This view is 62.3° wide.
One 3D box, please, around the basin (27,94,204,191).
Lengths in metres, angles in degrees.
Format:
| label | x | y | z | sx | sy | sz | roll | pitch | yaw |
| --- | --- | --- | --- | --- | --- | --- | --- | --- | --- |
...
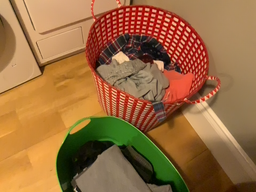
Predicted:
| label | x | y | z | sx | sy | sz | roll | pitch | yaw |
| --- | --- | --- | --- | --- | --- | --- | --- | --- | --- |
| basin | -0.010 | 0.340 | 0.740 | 0.400 | 0.170 | 0.570 | -31 | 69 | -20 |

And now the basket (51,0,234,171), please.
| label | x | y | z | sx | sy | sz | roll | pitch | yaw |
| --- | --- | --- | --- | --- | --- | --- | --- | --- | --- |
| basket | 0.040 | -0.050 | 0.990 | 0.500 | 0.430 | 0.490 | -33 | 69 | -21 |
